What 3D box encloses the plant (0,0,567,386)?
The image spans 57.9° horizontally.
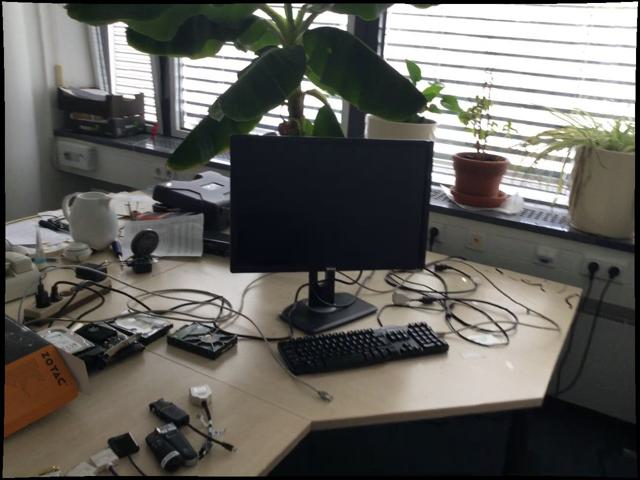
[{"bbox_3d":[-0.100,-0.460,1.940,1.469,1.051,1.100,13,24,28],"label":"plant"}]

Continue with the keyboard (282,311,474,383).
[{"bbox_3d":[0.140,0.260,1.450,0.440,0.030,0.190,-5,21,-16],"label":"keyboard"}]

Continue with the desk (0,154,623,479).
[{"bbox_3d":[-0.779,0.551,1.580,2.548,0.751,2.909,13,24,28],"label":"desk"}]
